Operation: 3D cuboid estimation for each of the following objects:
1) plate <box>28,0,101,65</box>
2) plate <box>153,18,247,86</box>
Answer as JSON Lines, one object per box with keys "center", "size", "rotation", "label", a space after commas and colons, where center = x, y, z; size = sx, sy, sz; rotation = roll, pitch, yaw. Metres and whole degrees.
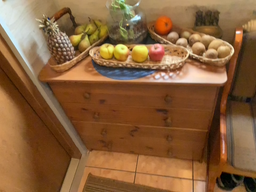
{"center": [-0.280, -0.320, 1.010], "size": [0.170, 0.160, 0.320], "rotation": [6, 51, 16], "label": "plate"}
{"center": [0.280, -0.190, 0.850], "size": [0.260, 0.070, 0.240], "rotation": [32, 62, 32], "label": "plate"}
